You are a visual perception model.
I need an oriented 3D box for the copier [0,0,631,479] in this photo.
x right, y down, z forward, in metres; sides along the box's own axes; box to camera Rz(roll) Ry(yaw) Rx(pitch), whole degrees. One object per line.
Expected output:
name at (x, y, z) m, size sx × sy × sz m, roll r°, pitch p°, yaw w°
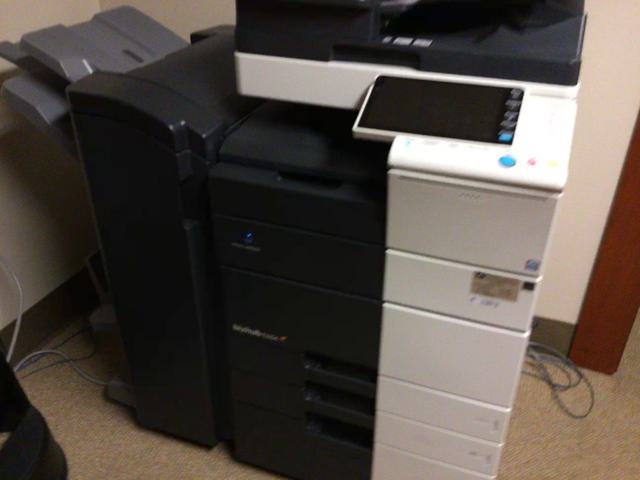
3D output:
copier at (-0.030, -0.050, 1.410) m, size 1.120 × 1.150 × 0.650 m, roll 10°, pitch 34°, yaw 18°
